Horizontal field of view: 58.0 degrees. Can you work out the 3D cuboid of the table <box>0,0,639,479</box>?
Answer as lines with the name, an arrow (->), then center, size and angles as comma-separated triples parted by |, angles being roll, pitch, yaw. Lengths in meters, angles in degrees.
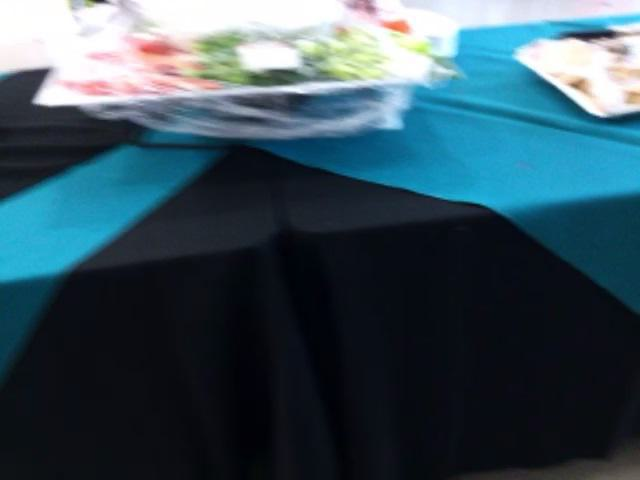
table -> -0.150, 0.080, 1.230 | 4.630, 0.910, 0.890 | -8, 33, -4
